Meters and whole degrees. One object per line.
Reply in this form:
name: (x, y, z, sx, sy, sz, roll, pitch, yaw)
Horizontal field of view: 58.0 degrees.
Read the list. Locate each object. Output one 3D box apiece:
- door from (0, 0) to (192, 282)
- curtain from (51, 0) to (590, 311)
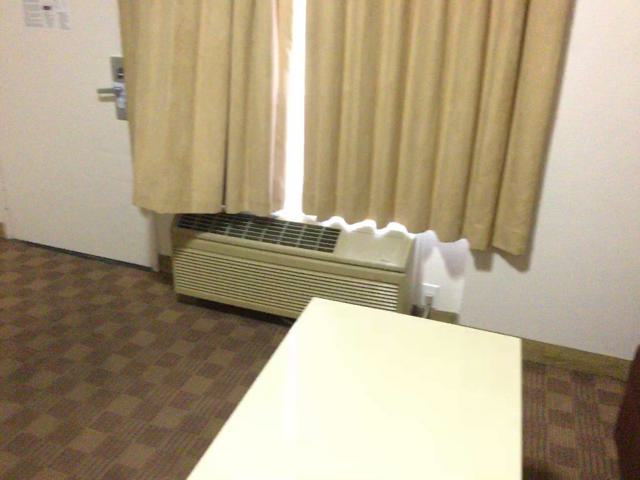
door: (-1.210, -0.910, 2.680, 1.170, 2.130, 0.220, 10, 24, 16)
curtain: (-0.030, -0.700, 2.040, 1.700, 1.510, 0.560, 9, 24, 15)
